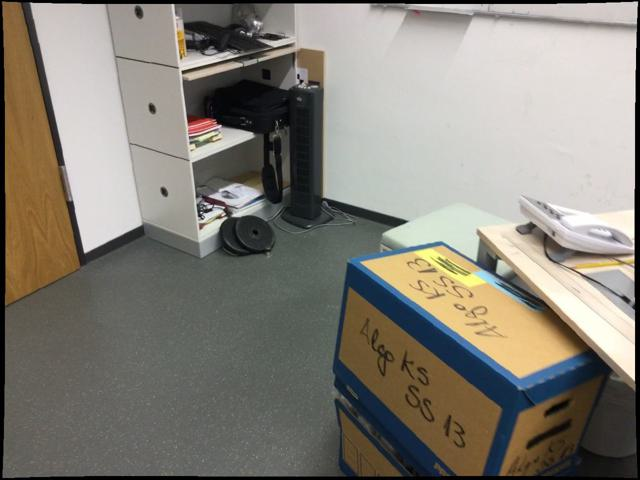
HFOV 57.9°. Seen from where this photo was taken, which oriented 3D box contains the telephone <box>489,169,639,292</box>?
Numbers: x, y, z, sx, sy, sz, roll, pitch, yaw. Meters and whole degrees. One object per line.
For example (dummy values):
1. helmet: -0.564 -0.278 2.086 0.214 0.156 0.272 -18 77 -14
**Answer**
1. telephone: 0.609 -0.040 1.370 0.310 0.090 0.320 17 34 27
